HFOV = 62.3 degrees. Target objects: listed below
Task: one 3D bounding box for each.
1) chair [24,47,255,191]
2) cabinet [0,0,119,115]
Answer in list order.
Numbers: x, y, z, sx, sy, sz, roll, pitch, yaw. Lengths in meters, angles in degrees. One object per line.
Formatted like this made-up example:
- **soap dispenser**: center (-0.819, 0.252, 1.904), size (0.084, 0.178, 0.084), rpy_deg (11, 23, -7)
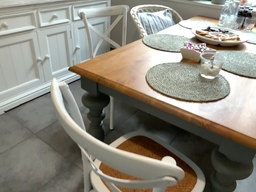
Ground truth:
- **chair**: center (0.040, 0.340, 0.880), size (0.480, 0.870, 0.560), rpy_deg (31, 41, 35)
- **cabinet**: center (-0.830, -0.590, 2.220), size (0.480, 0.900, 1.680), rpy_deg (25, 38, 29)
